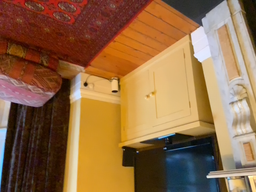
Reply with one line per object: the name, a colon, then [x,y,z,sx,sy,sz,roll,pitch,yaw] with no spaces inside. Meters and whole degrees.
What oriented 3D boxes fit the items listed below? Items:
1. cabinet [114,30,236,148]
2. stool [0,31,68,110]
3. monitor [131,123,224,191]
cabinet: [0.400,0.040,2.460,0.530,0.890,1.250,11,153,-33]
stool: [-1.100,-0.210,2.240,0.680,0.450,0.700,11,153,-33]
monitor: [0.380,0.740,2.040,0.060,0.710,1.090,11,154,-32]
